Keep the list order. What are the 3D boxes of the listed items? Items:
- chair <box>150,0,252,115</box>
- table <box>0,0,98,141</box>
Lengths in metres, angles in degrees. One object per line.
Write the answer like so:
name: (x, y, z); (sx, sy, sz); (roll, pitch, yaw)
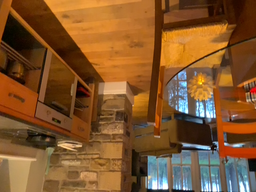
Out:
chair: (0.380, -0.340, 1.310); (0.440, 0.820, 0.460); (-2, 161, 12)
table: (-0.940, -0.050, 2.210); (0.720, 0.820, 1.640); (-2, 161, 10)
